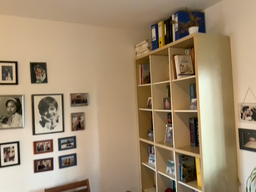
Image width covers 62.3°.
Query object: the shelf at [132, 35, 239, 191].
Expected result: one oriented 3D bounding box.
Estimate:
[{"bbox_3d":[0.520,0.580,2.200,0.400,2.100,1.050,-3,-1,-28],"label":"shelf"}]
